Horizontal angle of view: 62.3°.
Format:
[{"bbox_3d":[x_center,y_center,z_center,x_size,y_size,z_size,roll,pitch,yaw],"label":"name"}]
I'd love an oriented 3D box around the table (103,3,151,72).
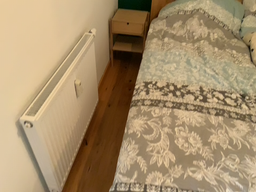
[{"bbox_3d":[0.000,-0.680,2.450,0.430,0.550,0.540,9,41,6],"label":"table"}]
